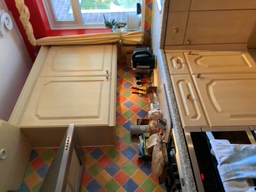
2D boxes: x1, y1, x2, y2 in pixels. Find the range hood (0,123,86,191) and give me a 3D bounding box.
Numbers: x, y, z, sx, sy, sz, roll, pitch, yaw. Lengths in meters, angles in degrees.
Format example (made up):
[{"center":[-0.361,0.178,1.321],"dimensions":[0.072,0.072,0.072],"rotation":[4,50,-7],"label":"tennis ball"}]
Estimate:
[{"center":[-0.660,0.680,1.310],"dimensions":[0.550,0.630,0.840],"rotation":[89,179,-49],"label":"range hood"}]
